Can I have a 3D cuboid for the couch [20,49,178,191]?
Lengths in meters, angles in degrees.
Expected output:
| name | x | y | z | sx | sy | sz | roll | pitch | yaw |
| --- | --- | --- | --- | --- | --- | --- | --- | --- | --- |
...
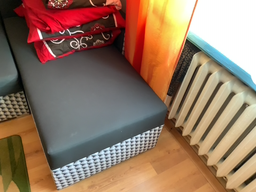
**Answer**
| name | x | y | z | sx | sy | sz | roll | pitch | yaw |
| --- | --- | --- | --- | --- | --- | --- | --- | --- | --- |
| couch | -0.200 | 0.110 | 1.370 | 0.710 | 0.440 | 0.610 | -18 | 52 | -26 |
